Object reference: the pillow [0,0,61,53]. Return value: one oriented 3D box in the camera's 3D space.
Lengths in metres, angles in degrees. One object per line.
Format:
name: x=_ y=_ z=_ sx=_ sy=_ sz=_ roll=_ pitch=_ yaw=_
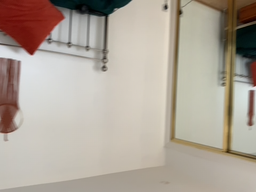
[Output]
pillow: x=-0.840 y=-0.670 z=1.760 sx=0.490 sy=0.500 sz=0.340 roll=3 pitch=179 yaw=-26
